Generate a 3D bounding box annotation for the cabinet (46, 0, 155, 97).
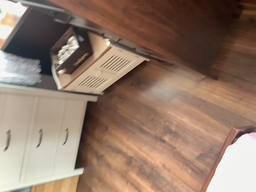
[{"bbox_3d":[-0.250,-0.400,1.790,0.650,0.480,0.540,-34,66,30],"label":"cabinet"}]
